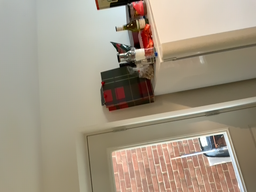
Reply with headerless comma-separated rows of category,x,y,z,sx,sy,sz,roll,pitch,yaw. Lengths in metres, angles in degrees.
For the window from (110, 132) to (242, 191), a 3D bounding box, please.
window,0.350,0.620,1.610,0.060,0.910,0.530,80,180,-73
